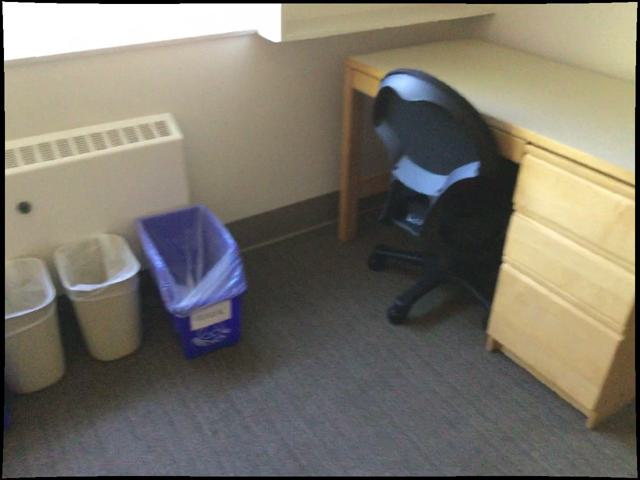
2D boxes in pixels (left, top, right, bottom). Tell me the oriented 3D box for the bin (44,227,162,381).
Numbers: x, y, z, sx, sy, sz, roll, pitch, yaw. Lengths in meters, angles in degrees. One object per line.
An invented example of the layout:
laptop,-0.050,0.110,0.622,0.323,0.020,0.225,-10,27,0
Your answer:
bin,-0.708,0.201,1.890,0.230,0.331,0.310,-20,38,-28

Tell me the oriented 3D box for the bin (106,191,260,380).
bin,-0.469,0.130,1.970,0.300,0.361,0.510,-20,38,-28

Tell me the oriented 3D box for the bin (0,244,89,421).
bin,-0.908,0.271,1.760,0.230,0.351,0.340,-20,38,-28

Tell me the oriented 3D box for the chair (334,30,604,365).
chair,0.419,-0.170,1.940,0.489,0.862,0.610,-16,36,-24
